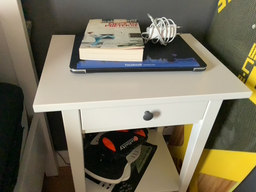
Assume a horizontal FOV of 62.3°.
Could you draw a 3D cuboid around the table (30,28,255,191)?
[{"bbox_3d":[0.000,0.160,0.780,0.470,0.690,0.370,-2,38,-10],"label":"table"}]
